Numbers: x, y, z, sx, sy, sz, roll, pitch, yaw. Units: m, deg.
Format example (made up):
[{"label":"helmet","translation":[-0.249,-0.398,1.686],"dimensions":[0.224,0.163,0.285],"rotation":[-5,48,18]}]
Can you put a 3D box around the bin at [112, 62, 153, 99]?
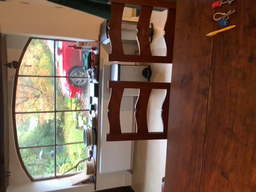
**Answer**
[{"label":"bin","translation":[0.060,-0.220,3.110],"dimensions":[0.350,0.490,0.490],"rotation":[-172,82,-67]}]
